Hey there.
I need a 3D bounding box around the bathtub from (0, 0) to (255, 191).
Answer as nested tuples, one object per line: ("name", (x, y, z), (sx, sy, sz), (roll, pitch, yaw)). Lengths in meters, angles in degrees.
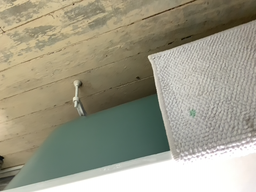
("bathtub", (0.170, 0.190, 0.940), (1.660, 0.540, 0.710), (-17, 135, 11))
